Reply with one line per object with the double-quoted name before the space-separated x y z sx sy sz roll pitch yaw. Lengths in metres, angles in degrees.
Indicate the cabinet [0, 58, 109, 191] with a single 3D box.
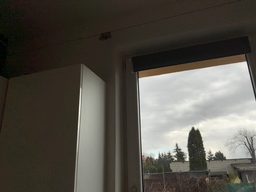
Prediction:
"cabinet" -0.410 0.230 1.210 0.500 0.730 0.330 -8 -20 19
